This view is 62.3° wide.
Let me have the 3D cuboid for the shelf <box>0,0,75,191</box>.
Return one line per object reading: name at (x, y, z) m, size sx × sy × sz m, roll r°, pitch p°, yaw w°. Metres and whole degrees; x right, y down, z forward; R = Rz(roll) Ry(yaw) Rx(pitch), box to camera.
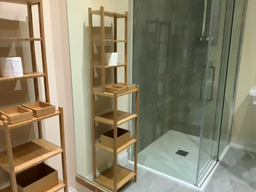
shelf at (-0.600, 0.240, 1.290) m, size 0.310 × 1.630 × 0.380 m, roll 11°, pitch 18°, yaw 35°
